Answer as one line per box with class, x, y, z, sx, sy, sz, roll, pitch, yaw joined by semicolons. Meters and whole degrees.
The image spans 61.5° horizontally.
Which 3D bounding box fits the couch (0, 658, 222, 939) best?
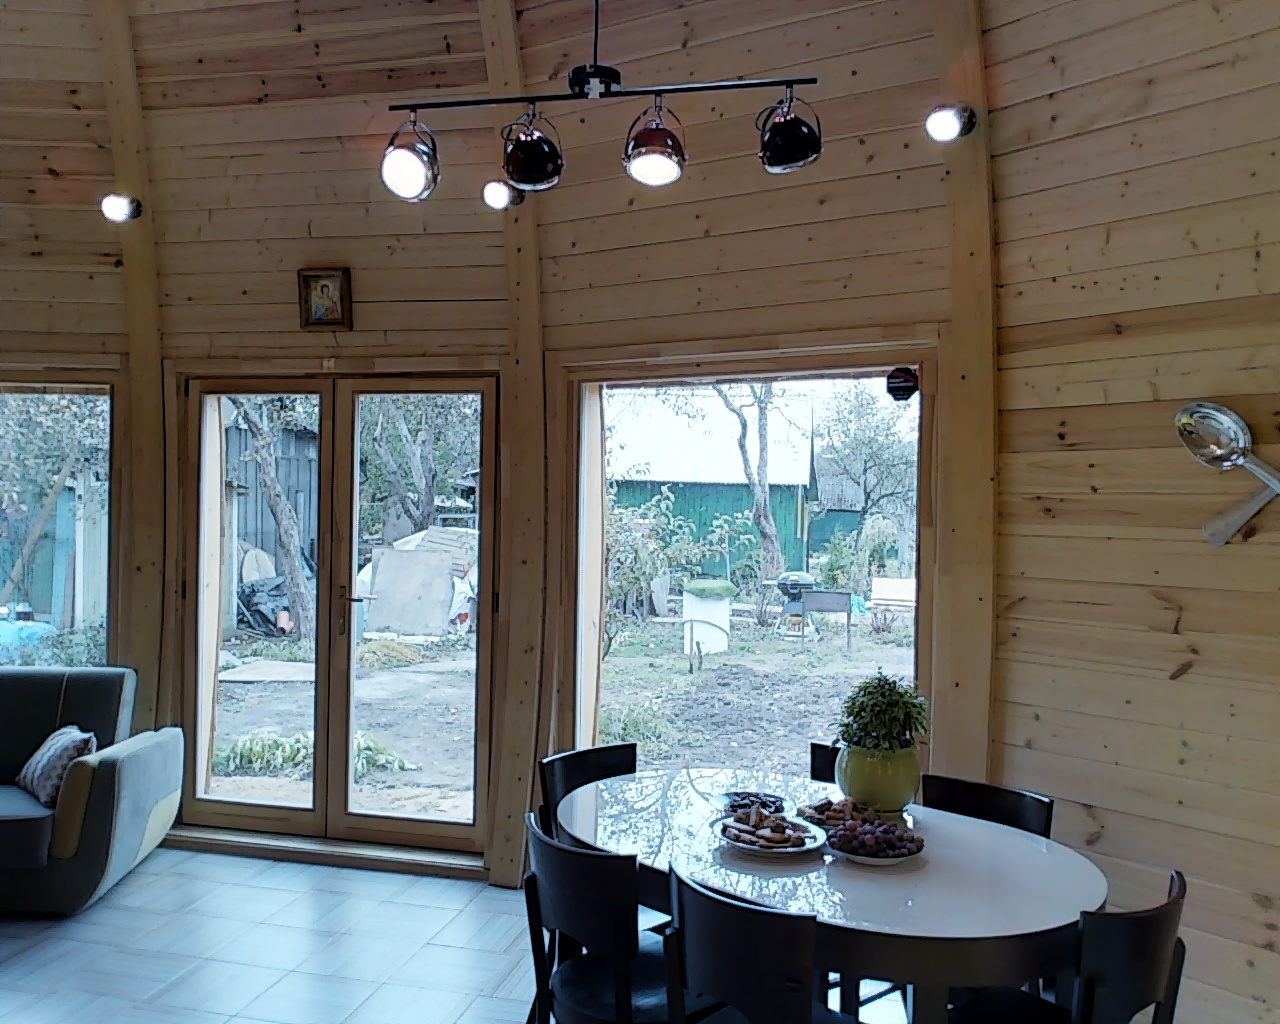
couch;-3.139;1.080;4.310;2.509;0.850;1.080;1;0;-5
